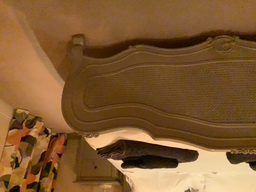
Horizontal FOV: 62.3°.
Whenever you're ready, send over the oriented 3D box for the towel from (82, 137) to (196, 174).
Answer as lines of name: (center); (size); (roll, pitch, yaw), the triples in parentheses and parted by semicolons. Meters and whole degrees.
towel: (0.070, 0.380, 1.270); (0.590, 0.090, 0.330); (18, 149, -29)
